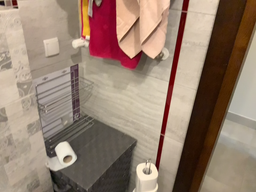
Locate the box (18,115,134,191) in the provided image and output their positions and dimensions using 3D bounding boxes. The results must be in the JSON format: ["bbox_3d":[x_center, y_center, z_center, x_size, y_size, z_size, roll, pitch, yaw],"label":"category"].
[{"bbox_3d":[-0.280,0.490,1.240,0.450,0.510,0.390,23,35,29],"label":"box"}]
